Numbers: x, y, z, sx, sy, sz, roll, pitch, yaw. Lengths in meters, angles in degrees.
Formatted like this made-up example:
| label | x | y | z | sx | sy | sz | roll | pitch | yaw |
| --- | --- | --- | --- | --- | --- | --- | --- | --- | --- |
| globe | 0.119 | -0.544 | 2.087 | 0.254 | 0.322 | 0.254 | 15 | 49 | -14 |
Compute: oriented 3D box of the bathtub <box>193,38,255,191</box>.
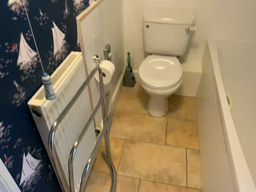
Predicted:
| label | x | y | z | sx | sy | sz | roll | pitch | yaw |
| --- | --- | --- | --- | --- | --- | --- | --- | --- | --- |
| bathtub | 0.870 | 0.220 | 1.470 | 0.680 | 0.540 | 1.670 | 7 | 39 | 10 |
